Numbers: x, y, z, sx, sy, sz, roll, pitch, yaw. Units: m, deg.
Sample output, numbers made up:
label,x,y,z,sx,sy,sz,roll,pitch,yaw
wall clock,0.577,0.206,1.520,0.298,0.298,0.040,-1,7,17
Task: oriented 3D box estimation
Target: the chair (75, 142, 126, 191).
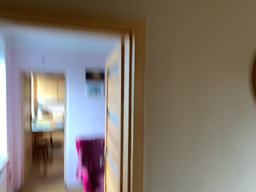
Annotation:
label,x,y,z,sx,sy,sz,roll,pitch,yaw
chair,-0.430,1.310,3.240,0.680,1.030,0.720,0,1,-9
